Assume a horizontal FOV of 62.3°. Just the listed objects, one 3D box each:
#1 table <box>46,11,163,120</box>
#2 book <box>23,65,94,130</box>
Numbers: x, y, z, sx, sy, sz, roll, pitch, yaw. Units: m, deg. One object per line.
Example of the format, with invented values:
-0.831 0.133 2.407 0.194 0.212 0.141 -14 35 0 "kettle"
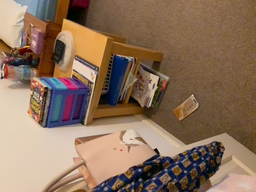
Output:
-0.180 -0.210 1.440 0.500 0.480 0.510 34 115 40 "table"
-0.370 0.000 1.120 0.230 0.250 0.240 34 115 40 "book"
